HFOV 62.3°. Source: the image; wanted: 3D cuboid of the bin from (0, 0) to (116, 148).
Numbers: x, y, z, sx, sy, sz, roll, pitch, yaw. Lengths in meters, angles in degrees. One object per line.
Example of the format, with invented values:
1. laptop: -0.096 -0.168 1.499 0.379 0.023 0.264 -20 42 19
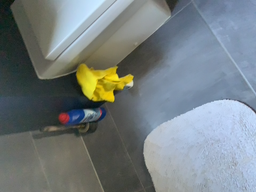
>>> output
1. bin: -0.470 -0.090 0.830 0.280 0.760 0.500 -35 72 27

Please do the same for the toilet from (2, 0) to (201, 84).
1. toilet: -0.090 -0.350 0.830 0.520 0.460 0.360 -34 73 26
